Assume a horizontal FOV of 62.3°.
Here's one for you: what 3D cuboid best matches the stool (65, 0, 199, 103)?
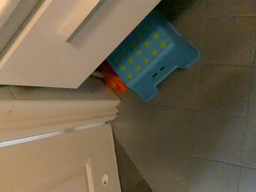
[{"bbox_3d":[0.020,-0.240,0.910,0.340,0.250,0.410,-42,74,18],"label":"stool"}]
